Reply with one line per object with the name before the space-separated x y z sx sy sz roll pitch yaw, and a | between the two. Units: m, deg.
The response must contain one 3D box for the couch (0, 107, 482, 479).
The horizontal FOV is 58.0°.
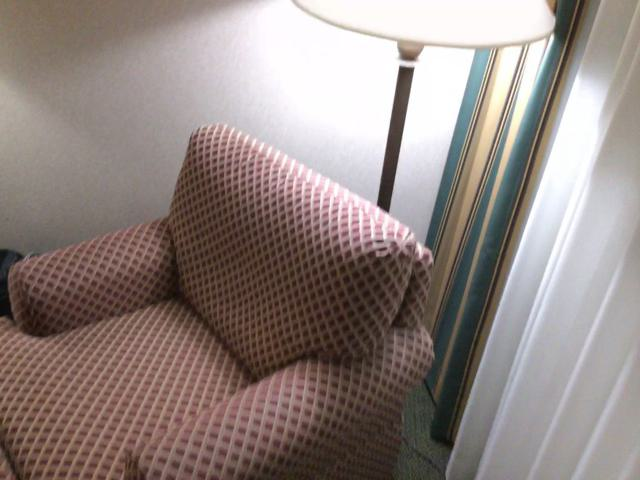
couch | -0.360 0.290 1.410 0.860 0.870 0.960 -18 38 -37
